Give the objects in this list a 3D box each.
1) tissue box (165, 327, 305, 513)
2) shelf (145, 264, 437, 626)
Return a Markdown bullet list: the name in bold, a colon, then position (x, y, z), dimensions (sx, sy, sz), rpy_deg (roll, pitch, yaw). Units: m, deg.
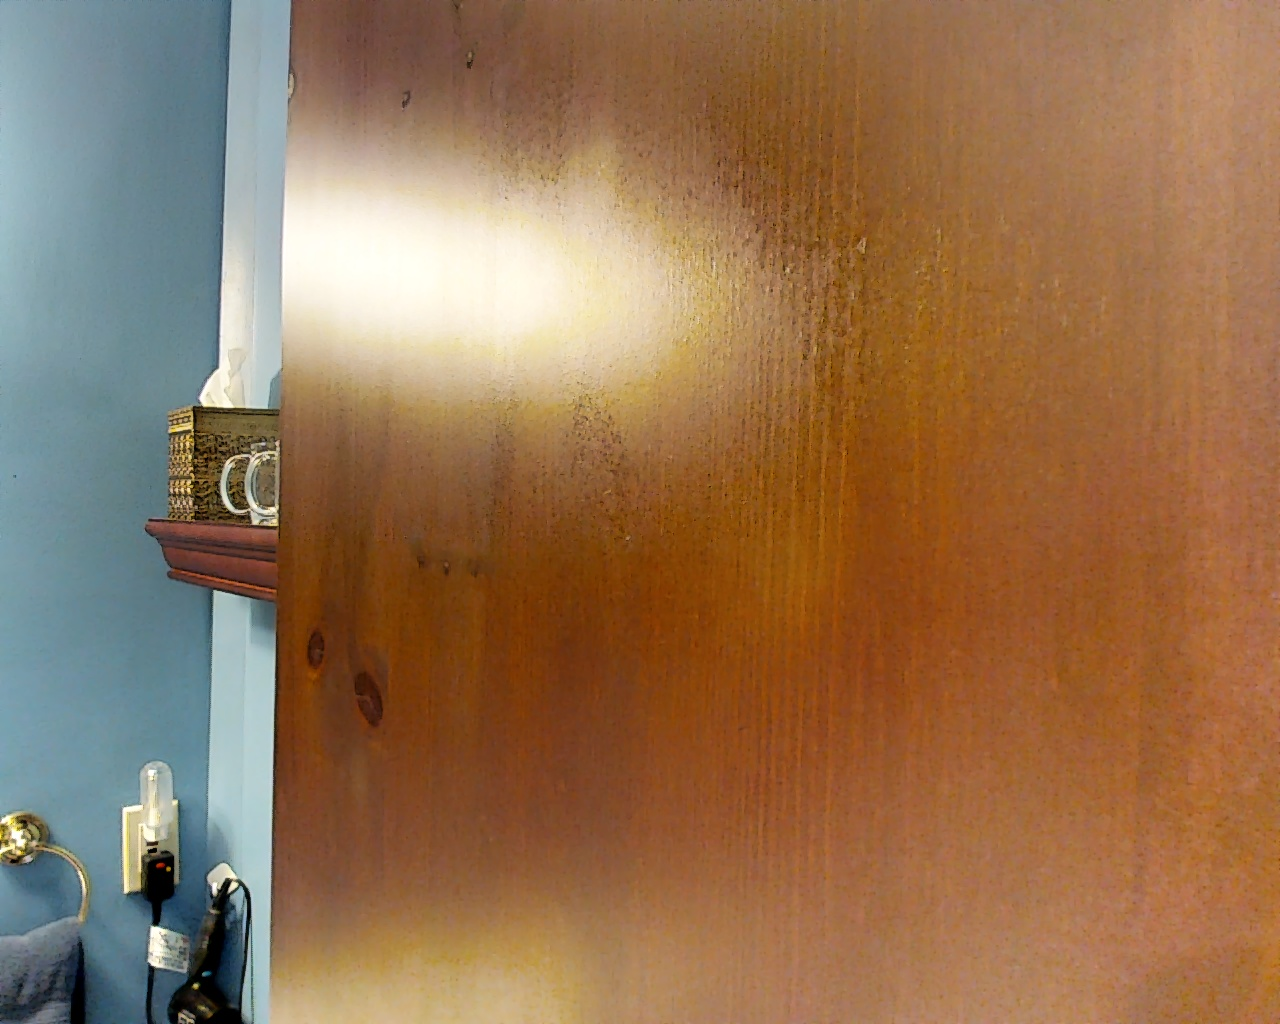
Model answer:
- **tissue box**: position (-0.520, -0.110, 1.380), dimensions (0.130, 0.220, 0.140), rpy_deg (1, 0, -36)
- **shelf**: position (-0.420, -0.060, 1.220), dimensions (0.140, 0.320, 0.560), rpy_deg (1, 0, -36)
